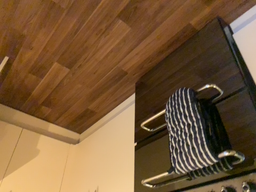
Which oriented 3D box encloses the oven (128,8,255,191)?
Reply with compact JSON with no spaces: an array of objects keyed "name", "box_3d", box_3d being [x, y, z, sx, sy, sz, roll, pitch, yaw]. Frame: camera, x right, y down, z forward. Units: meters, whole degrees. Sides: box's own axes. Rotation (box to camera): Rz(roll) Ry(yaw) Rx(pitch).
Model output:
[{"name":"oven","box_3d":[0.460,0.150,1.130,0.670,0.760,0.600,29,134,-28]}]
